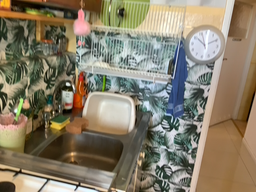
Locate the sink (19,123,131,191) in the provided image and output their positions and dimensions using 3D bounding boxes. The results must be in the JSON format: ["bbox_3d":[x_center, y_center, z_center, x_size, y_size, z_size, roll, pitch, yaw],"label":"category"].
[{"bbox_3d":[-0.230,0.320,1.050,0.410,0.180,0.350,8,17,10],"label":"sink"}]

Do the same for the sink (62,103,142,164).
[{"bbox_3d":[-0.150,0.220,1.390,0.410,0.180,0.370,8,17,10],"label":"sink"}]
